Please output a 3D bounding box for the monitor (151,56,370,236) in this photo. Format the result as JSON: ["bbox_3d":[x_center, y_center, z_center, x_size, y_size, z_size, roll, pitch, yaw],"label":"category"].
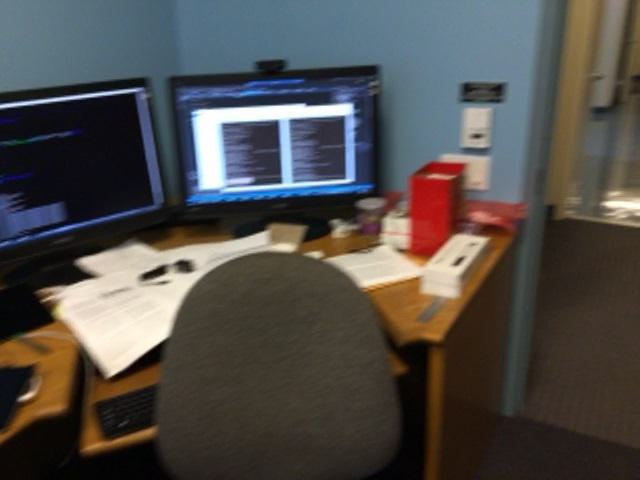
[{"bbox_3d":[-0.170,-0.310,1.850,0.620,0.500,0.260,-3,20,-4],"label":"monitor"}]

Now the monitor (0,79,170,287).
[{"bbox_3d":[-0.780,-0.170,1.620,0.630,0.490,0.180,-17,25,-36],"label":"monitor"}]
